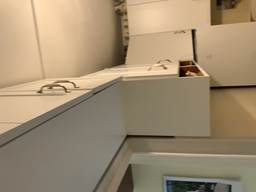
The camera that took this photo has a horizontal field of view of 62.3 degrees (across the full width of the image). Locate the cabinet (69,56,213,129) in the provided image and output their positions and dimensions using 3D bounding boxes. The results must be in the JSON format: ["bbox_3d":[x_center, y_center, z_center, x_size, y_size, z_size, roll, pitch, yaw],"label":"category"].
[{"bbox_3d":[0.180,-0.100,1.660,1.130,0.750,0.350,-39,-54,-73],"label":"cabinet"}]
